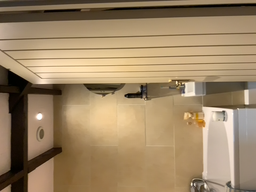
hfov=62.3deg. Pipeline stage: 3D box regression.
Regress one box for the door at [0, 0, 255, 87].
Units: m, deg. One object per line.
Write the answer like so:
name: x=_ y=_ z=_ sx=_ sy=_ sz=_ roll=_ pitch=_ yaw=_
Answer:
door: x=0.280 y=-0.230 z=1.010 sx=0.890 sy=1.990 sz=0.070 roll=79 pitch=-170 yaw=-74
